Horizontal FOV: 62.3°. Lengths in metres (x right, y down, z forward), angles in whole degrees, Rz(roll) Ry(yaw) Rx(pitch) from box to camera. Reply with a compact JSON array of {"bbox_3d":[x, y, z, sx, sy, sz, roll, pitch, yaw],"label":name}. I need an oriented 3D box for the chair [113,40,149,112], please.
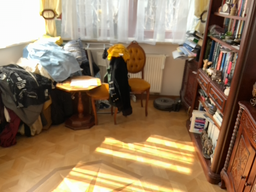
[{"bbox_3d":[0.030,-0.290,3.070,0.440,0.940,0.410,2,25,-1],"label":"chair"}]
